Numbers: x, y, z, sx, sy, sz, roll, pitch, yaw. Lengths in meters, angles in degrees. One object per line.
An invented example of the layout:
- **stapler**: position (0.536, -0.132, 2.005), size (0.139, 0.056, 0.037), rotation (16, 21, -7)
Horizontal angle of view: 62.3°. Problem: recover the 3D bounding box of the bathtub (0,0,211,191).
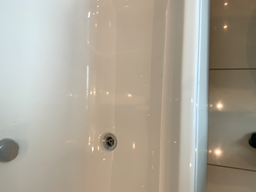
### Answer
- **bathtub**: position (-0.090, 0.200, 0.770), size (0.700, 0.570, 1.700), rotation (1, 87, 22)
